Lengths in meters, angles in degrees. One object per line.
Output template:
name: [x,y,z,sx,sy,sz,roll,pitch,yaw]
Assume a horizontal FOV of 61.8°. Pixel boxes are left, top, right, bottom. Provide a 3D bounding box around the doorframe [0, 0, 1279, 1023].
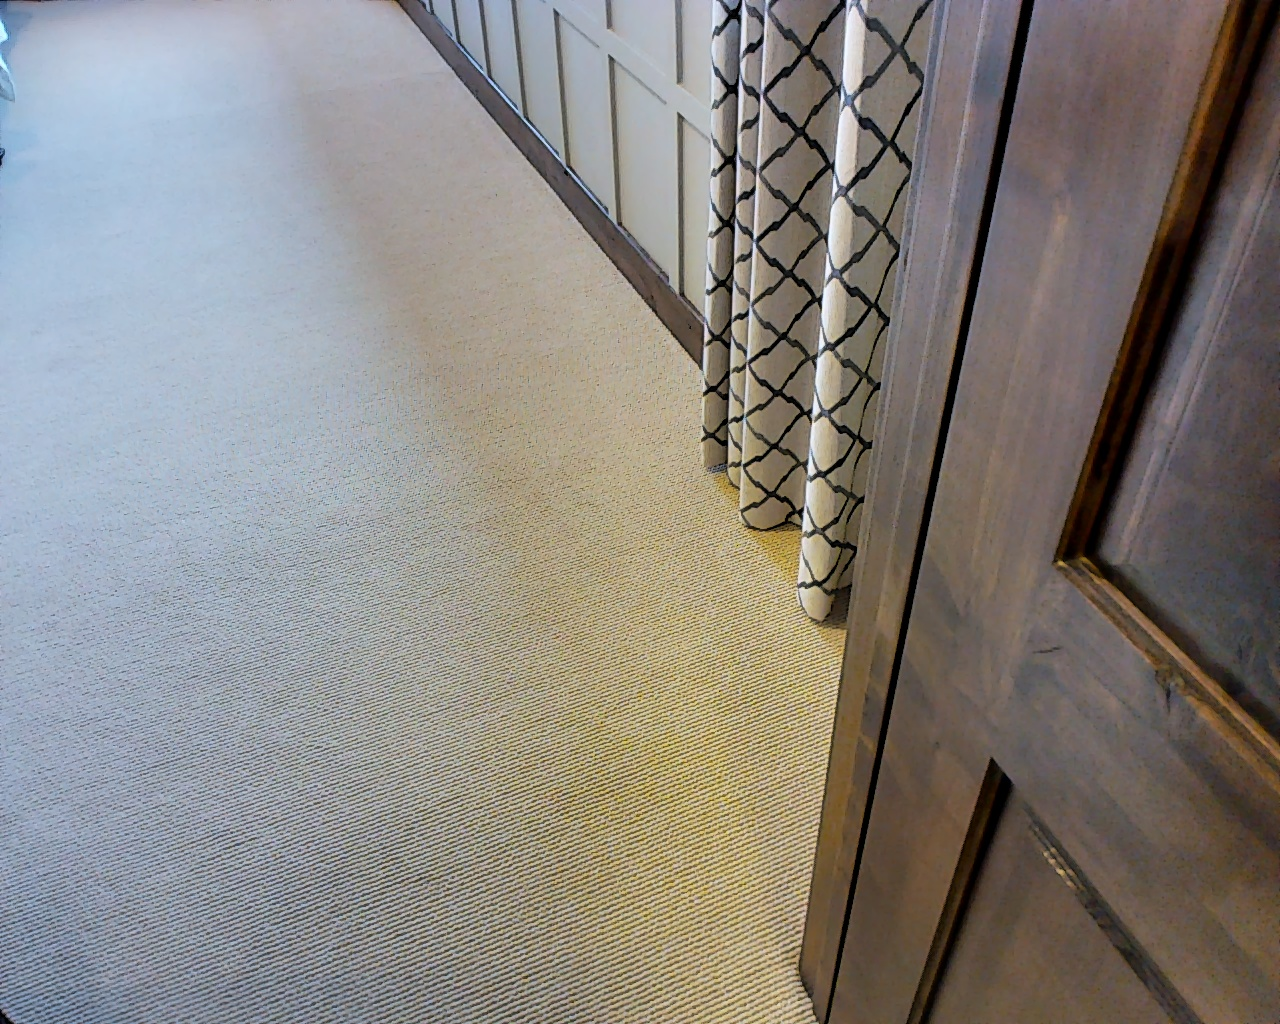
doorframe: [-0.160,-0.210,0.410,0.980,2.580,0.190,-17,43,-16]
